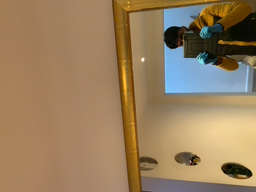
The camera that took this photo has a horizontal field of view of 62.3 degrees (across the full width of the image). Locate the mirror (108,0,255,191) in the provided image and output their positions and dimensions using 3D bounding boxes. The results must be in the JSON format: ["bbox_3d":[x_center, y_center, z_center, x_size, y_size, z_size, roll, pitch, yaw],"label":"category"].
[{"bbox_3d":[0.290,0.050,0.910,0.050,0.700,0.980,-45,-47,-66],"label":"mirror"}]
